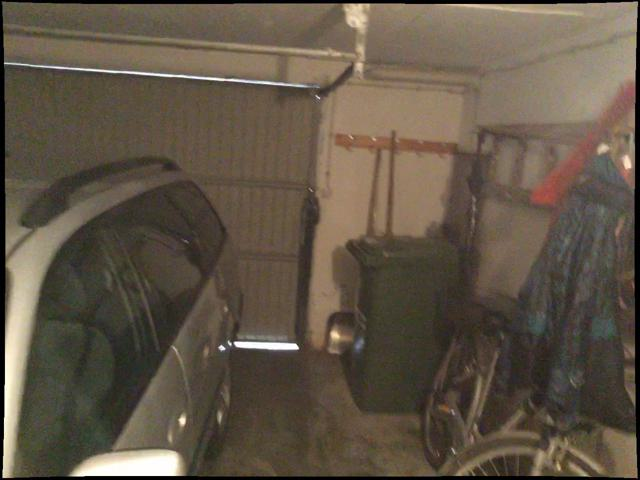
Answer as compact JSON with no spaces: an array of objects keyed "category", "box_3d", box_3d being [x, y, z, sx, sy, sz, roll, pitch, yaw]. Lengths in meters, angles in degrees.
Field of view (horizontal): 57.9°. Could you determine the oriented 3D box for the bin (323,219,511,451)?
[{"category":"bin","box_3d":[0.499,0.521,3.500,0.769,1.051,0.930,5,14,-6]}]
